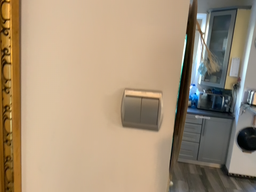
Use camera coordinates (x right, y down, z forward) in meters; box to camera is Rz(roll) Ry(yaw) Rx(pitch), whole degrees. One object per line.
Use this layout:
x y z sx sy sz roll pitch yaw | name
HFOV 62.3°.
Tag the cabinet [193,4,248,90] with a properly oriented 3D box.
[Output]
1.380 -0.730 3.280 0.500 1.180 0.480 6 11 8 | cabinet
